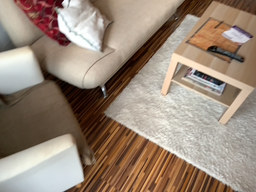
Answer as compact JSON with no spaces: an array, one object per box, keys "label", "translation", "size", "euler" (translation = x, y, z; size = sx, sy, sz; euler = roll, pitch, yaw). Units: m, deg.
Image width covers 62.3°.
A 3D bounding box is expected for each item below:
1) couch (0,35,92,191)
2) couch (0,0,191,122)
[{"label":"couch","translation":[-0.640,0.180,1.150],"size":[0.680,0.630,0.600],"euler":[-20,57,-20]},{"label":"couch","translation":[-0.160,-0.950,1.910],"size":[1.020,0.920,1.950],"euler":[28,54,15]}]
